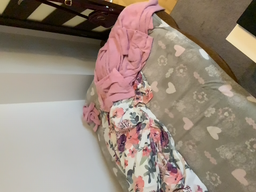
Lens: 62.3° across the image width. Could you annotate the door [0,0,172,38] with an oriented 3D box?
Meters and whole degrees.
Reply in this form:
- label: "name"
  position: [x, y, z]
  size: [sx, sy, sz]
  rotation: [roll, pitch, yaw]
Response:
- label: "door"
  position: [-0.720, -0.700, 1.670]
  size: [0.970, 2.130, 0.090]
  rotation: [10, 100, 50]
